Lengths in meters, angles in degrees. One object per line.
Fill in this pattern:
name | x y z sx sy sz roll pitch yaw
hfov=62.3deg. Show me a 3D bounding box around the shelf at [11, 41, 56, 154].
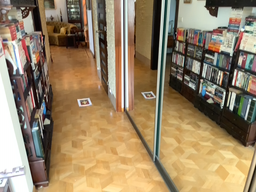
shelf | -1.190 -0.140 2.890 0.240 0.920 1.710 -6 24 -15
